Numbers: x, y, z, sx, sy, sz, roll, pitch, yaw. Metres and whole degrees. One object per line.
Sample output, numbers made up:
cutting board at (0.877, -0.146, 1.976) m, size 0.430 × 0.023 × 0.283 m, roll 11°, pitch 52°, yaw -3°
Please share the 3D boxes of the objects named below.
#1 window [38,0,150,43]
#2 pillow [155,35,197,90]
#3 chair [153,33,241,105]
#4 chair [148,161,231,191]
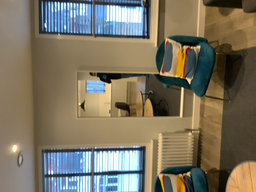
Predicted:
window at (-0.470, -1.130, 3.110) m, size 0.090 × 1.590 × 0.610 m, roll -161°, pitch 71°, yaw -81°
pillow at (0.590, -0.420, 2.650) m, size 0.210 × 0.440 × 0.540 m, roll 34°, pitch 138°, yaw 34°
chair at (0.760, -0.350, 2.590) m, size 0.710 × 0.680 × 0.640 m, roll -105°, pitch 17°, yaw -59°
chair at (0.720, 1.180, 2.620) m, size 0.720 × 0.740 × 0.670 m, roll 115°, pitch 154°, yaw -70°
